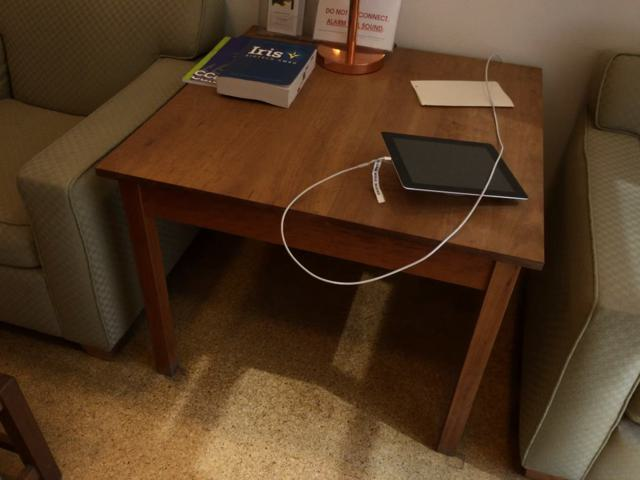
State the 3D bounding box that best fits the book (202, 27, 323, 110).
[{"bbox_3d":[-0.130,-0.420,1.390,0.200,0.070,0.280,14,38,10],"label":"book"}]
